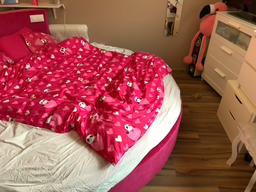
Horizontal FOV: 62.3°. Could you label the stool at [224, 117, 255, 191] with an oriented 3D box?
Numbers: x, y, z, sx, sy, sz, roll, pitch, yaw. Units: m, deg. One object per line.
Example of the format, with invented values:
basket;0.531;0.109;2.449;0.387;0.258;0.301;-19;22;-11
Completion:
stool;0.980;0.470;1.590;0.280;0.470;0.380;5;34;5
